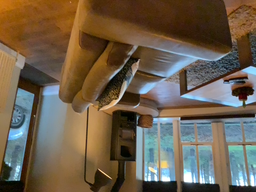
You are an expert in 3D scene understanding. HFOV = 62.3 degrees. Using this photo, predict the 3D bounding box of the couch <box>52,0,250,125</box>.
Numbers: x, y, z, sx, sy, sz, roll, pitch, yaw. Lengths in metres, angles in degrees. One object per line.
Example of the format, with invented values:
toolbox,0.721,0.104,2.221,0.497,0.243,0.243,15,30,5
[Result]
couch,-0.060,-0.290,2.120,1.120,0.810,1.840,8,162,-21
